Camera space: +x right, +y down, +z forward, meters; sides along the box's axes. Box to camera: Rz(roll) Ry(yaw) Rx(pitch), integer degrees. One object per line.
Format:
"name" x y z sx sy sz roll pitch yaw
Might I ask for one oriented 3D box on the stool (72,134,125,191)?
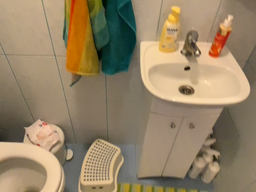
"stool" -0.170 0.440 1.330 0.240 0.130 0.360 8 46 4
